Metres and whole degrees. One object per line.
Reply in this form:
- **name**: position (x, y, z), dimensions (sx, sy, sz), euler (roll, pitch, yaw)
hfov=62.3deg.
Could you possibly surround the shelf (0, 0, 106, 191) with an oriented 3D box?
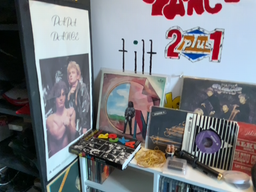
- **shelf**: position (-0.460, 0.080, 0.970), dimensions (0.590, 1.940, 0.360), euler (9, 20, 22)
